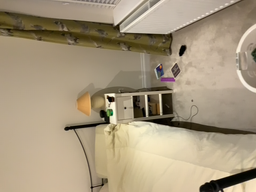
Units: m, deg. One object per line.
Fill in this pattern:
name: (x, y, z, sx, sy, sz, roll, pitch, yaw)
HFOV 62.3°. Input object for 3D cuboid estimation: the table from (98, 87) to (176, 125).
table: (0.100, 0.100, 2.700, 0.570, 0.810, 0.380, 178, 89, -65)

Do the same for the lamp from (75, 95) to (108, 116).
lamp: (-0.450, 0.110, 2.580, 0.290, 0.310, 0.230, 176, 91, -65)
